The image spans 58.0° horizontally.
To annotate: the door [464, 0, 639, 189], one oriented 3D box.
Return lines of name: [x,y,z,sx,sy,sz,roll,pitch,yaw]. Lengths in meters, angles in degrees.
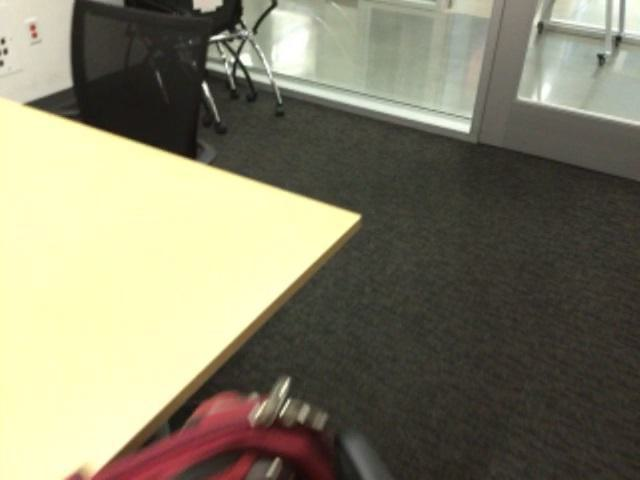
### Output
door: [1.100,-0.830,2.480,0.780,1.050,0.190,23,40,28]

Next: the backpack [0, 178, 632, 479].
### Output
backpack: [-0.080,0.290,0.630,0.450,0.480,0.450,-17,38,-24]
